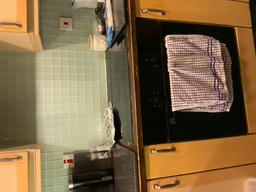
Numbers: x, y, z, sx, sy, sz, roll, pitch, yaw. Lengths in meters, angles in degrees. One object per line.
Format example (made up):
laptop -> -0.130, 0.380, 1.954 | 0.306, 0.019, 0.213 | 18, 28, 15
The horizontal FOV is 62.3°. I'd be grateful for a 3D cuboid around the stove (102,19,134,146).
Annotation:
stove -> -0.080, -0.040, 1.250 | 0.550, 0.010, 0.600 | 160, 108, -71
